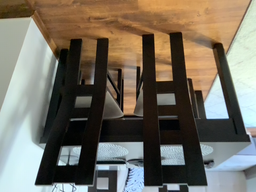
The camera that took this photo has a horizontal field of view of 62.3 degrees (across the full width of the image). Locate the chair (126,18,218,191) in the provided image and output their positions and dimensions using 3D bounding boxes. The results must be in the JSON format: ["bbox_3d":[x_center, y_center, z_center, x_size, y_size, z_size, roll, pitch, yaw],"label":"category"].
[{"bbox_3d":[0.250,0.080,1.480,0.420,1.030,0.590,-4,151,9],"label":"chair"}]

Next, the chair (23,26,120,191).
[{"bbox_3d":[-0.290,0.100,1.510,0.400,1.040,0.580,0,151,1],"label":"chair"}]
